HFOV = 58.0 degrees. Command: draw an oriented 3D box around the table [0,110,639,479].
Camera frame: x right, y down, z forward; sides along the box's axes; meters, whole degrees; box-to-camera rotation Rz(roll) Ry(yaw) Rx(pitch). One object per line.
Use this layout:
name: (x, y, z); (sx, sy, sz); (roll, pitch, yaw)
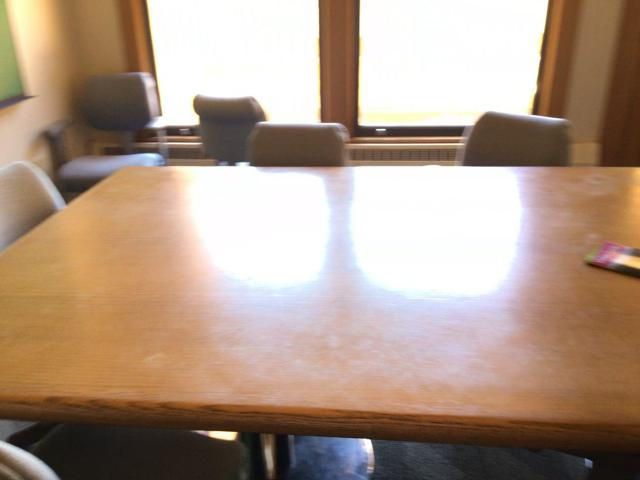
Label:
table: (0.440, 0.330, 1.410); (2.450, 0.950, 1.300); (-5, 21, 11)
